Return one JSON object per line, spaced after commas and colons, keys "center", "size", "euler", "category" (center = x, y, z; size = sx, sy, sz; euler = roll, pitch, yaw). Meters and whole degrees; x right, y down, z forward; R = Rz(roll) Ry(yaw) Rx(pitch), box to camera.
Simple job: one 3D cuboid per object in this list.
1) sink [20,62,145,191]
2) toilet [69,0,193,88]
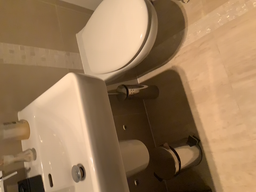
{"center": [-0.180, 0.270, 0.730], "size": [0.480, 0.130, 0.610], "euler": [-25, 74, 42], "category": "sink"}
{"center": [-0.010, -0.300, 1.150], "size": [0.520, 0.340, 0.360], "euler": [-25, 74, 42], "category": "toilet"}
